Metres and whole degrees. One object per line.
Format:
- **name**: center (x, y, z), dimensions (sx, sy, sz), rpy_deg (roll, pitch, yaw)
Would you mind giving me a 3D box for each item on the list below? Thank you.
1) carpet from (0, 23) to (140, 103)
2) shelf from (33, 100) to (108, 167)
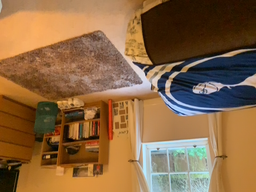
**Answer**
- **carpet**: center (-0.870, -0.290, 2.880), dimensions (1.720, 0.120, 1.280), rpy_deg (-10, 156, 21)
- **shelf**: center (-1.040, 0.720, 3.880), dimensions (1.360, 1.050, 0.320), rpy_deg (-11, 155, 24)
